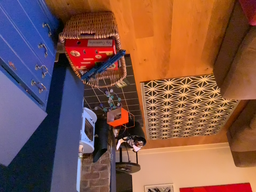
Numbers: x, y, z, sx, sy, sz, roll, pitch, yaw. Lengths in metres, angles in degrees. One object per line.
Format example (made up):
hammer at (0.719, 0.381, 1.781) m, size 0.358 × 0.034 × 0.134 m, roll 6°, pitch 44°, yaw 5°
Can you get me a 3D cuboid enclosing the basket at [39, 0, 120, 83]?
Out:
basket at (-0.300, -0.380, 1.500) m, size 0.390 × 0.310 × 0.480 m, roll -7°, pitch 149°, yaw 5°
